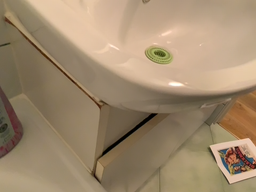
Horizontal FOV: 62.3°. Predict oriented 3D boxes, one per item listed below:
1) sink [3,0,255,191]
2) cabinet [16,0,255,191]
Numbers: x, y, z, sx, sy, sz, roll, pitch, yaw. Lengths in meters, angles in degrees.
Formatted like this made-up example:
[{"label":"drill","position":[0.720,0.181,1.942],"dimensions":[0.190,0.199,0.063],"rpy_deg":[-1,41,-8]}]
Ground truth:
[{"label":"sink","position":[0.110,-0.140,0.420],"dimensions":[0.380,0.140,0.510],"rpy_deg":[40,51,23]},{"label":"cabinet","position":[0.140,0.010,0.830],"dimensions":[0.290,0.730,0.870],"rpy_deg":[40,51,23]}]
